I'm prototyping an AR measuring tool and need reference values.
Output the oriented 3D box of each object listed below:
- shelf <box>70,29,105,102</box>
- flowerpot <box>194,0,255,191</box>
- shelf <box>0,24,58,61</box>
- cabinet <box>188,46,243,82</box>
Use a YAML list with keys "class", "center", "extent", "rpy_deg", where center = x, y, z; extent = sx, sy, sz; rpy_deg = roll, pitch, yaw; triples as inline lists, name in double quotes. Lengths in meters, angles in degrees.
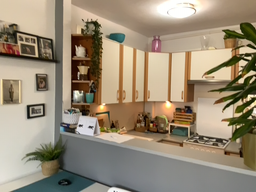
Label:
- class: "shelf"
  center: [-0.440, -0.310, 2.290]
  extent: [0.330, 0.730, 0.190]
  rpy_deg: [3, 3, 35]
- class: "flowerpot"
  center: [0.830, 0.000, 1.210]
  extent: [0.670, 0.950, 0.550]
  rpy_deg: [4, 3, 40]
- class: "shelf"
  center: [-0.860, -0.450, 1.870]
  extent: [0.030, 0.220, 0.560]
  rpy_deg: [3, 3, 34]
- class: "cabinet"
  center: [1.210, -0.420, 2.950]
  extent: [0.630, 0.430, 0.350]
  rpy_deg: [3, 3, 34]
